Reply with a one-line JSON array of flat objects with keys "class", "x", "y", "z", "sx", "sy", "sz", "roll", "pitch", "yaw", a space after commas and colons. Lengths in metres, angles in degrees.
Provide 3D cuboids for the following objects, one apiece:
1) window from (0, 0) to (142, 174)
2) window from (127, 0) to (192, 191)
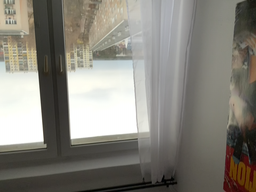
[{"class": "window", "x": -0.460, "y": -0.230, "z": 1.590, "sx": 1.130, "sy": 1.540, "sz": 0.160, "roll": -3, "pitch": -170, "yaw": -14}, {"class": "window", "x": 0.200, "y": -0.130, "z": 1.500, "sx": 0.360, "sy": 1.540, "sz": 0.270, "roll": -2, "pitch": -170, "yaw": -12}]
